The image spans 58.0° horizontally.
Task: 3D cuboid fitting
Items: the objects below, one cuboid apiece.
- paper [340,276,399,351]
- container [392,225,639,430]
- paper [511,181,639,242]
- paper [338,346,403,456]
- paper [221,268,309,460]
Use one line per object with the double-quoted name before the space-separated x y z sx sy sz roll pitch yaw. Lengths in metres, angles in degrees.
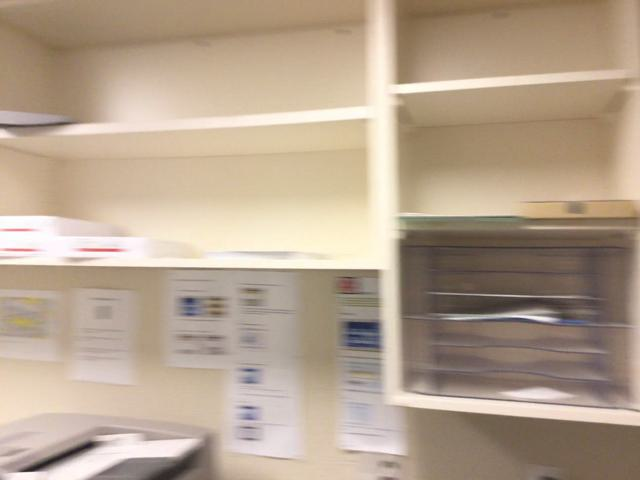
"paper" 0.130 0.190 1.510 0.150 0.190 0.020 0 -6 15
"container" 0.430 0.180 1.310 0.480 0.380 0.350 0 -6 15
"paper" 0.530 -0.050 1.210 0.230 0.070 0.350 0 -6 15
"paper" 0.130 0.410 1.490 0.160 0.260 0.030 0 -6 15
"paper" -0.150 0.330 1.590 0.220 0.500 0.040 0 -6 15
